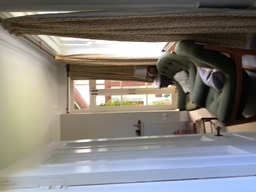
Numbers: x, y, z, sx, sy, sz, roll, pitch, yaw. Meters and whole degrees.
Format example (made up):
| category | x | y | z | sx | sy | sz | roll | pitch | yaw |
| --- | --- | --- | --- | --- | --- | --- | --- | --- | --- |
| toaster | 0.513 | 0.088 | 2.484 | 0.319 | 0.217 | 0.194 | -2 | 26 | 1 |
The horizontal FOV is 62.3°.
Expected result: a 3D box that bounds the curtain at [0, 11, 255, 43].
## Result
| category | x | y | z | sx | sy | sz | roll | pitch | yaw |
| --- | --- | --- | --- | --- | --- | --- | --- | --- | --- |
| curtain | 0.060 | -0.710 | 2.200 | 0.340 | 2.580 | 0.250 | -111 | 20 | -78 |
